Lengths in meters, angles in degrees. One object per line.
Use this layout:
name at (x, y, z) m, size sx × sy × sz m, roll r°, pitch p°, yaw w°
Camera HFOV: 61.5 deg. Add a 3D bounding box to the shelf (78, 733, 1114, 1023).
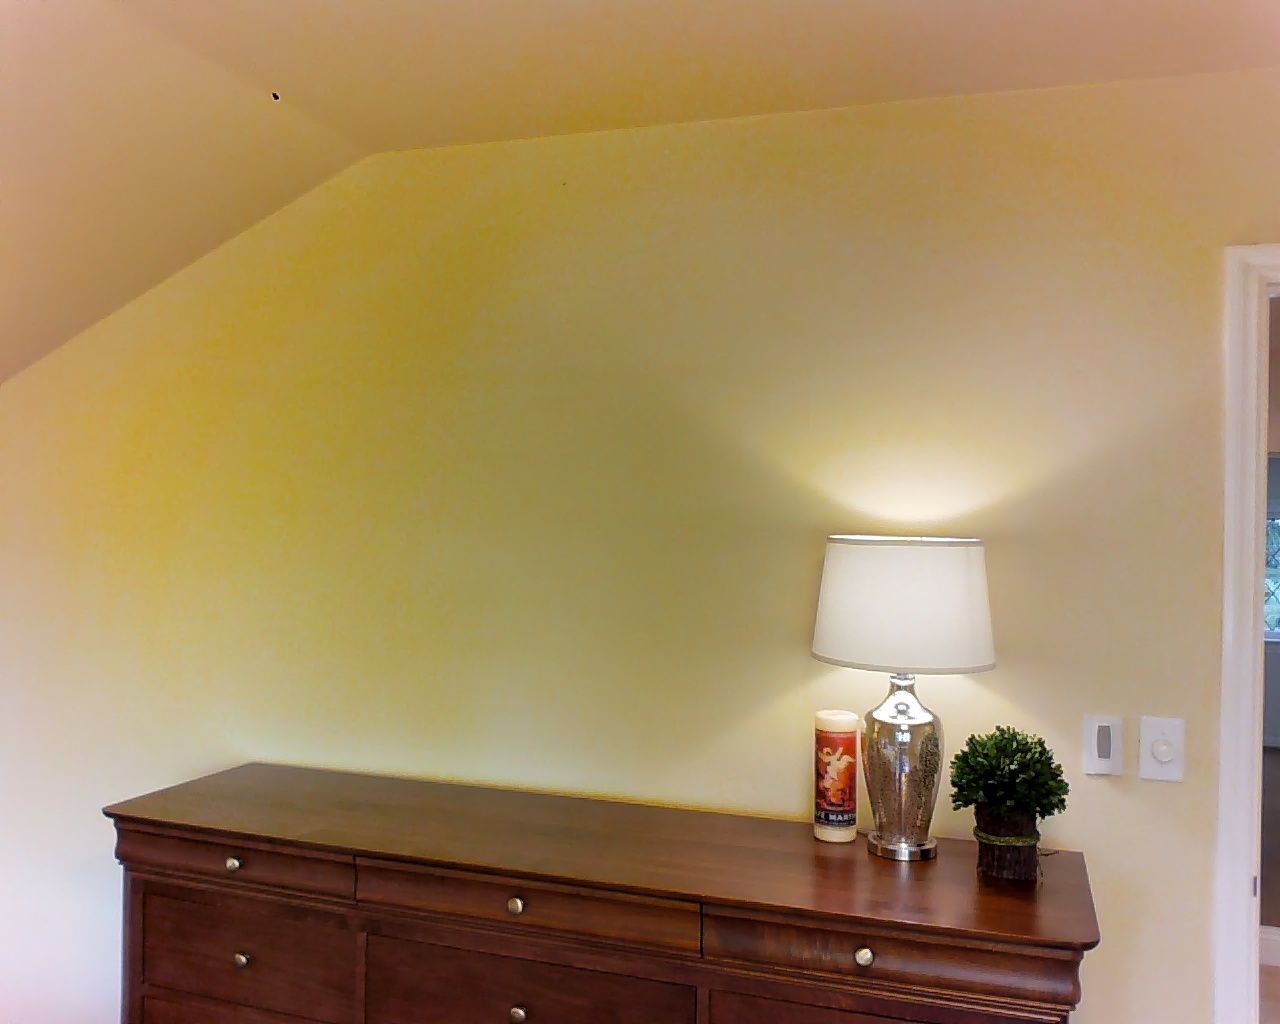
shelf at (-0.130, 1.080, 2.150) m, size 1.920 × 1.010 × 0.620 m, roll 1°, pitch 0°, yaw 19°
